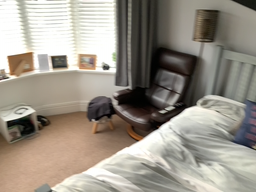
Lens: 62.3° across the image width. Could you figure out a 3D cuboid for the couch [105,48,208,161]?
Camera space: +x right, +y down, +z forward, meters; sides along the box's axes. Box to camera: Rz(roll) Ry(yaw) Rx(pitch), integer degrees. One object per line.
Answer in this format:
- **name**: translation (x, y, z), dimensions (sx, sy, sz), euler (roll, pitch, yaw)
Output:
- **couch**: translation (0.310, 0.020, 2.540), dimensions (0.860, 0.940, 0.750), euler (-21, 34, -40)
